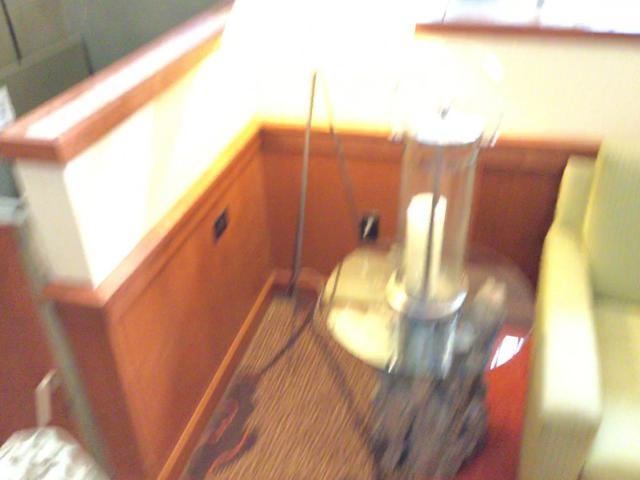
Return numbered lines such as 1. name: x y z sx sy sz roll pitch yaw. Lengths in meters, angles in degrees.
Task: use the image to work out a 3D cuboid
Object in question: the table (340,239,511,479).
1. table: 0.370 0.410 1.950 0.440 0.590 0.530 6 35 17
